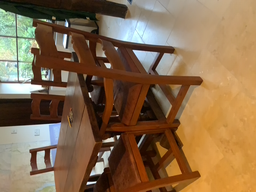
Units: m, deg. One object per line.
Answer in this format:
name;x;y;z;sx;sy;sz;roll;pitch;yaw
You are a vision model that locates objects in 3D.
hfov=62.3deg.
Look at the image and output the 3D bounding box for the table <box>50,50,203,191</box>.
table;-0.270;0.610;2.150;0.890;0.790;1.870;65;145;40
